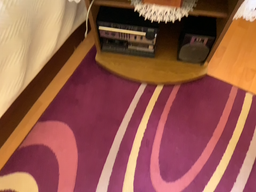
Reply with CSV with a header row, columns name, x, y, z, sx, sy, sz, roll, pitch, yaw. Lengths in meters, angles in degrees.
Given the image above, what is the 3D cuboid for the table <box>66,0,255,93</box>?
name,x,y,z,sx,sy,sz,roll,pitch,yaw
table,0.140,-0.450,0.910,0.610,0.740,0.510,9,66,5
